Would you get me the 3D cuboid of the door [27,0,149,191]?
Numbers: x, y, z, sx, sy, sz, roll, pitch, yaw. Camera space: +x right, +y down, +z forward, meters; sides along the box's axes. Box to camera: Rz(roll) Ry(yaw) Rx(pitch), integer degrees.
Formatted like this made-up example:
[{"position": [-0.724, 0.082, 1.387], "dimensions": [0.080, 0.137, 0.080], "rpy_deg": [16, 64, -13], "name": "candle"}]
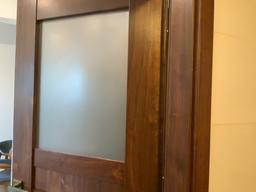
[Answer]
[{"position": [-0.210, 0.550, 0.880], "dimensions": [0.530, 2.070, 0.060], "rpy_deg": [2, 0, 25], "name": "door"}]
